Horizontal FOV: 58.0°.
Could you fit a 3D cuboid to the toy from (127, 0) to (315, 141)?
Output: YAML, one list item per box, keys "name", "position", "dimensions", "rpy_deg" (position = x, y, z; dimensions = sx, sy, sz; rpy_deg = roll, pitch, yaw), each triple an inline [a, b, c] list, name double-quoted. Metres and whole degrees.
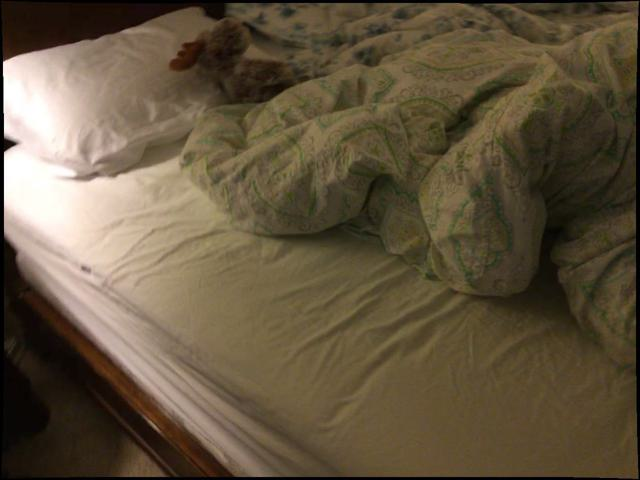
- name: "toy"
  position: [-0.229, -0.431, 1.390]
  dimensions: [0.330, 0.180, 0.270]
  rpy_deg: [28, 52, 29]

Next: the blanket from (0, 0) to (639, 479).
- name: "blanket"
  position: [0.529, -0.461, 1.270]
  dimensions: [2.118, 0.421, 1.540]
  rpy_deg: [28, 53, 29]

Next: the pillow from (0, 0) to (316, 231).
- name: "pillow"
  position: [-0.469, -0.421, 1.440]
  dimensions: [0.479, 0.180, 0.850]
  rpy_deg: [28, 52, 29]
